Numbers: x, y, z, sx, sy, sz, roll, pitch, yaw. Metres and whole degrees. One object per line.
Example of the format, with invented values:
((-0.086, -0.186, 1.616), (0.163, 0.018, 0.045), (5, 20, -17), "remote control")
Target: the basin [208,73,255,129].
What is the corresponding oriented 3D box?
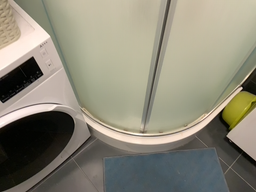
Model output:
((0.670, 0.040, 1.330), (0.210, 0.300, 0.130), (-34, 66, -20), "basin")
